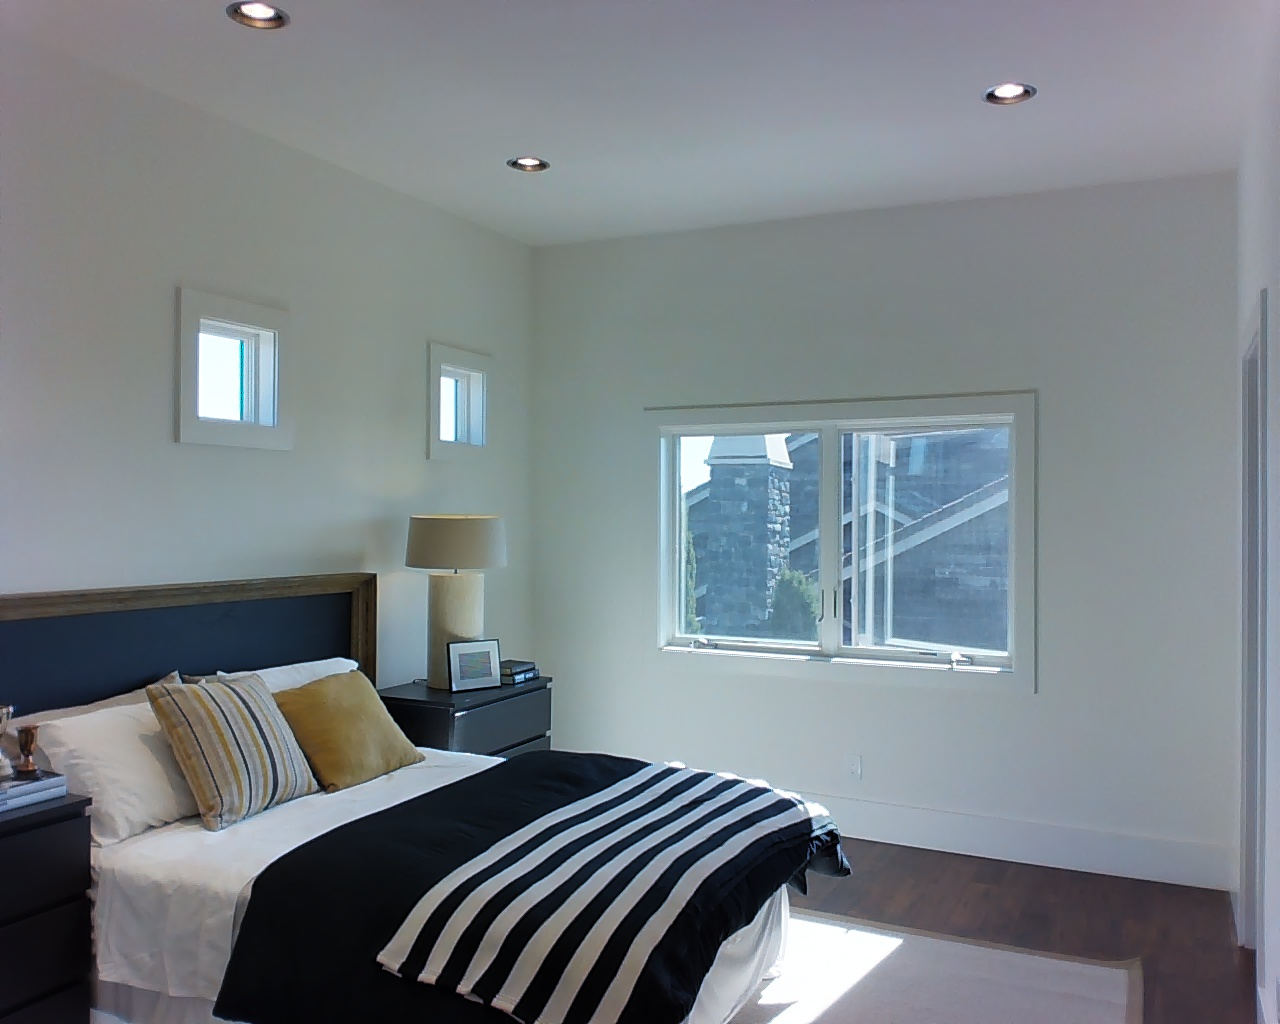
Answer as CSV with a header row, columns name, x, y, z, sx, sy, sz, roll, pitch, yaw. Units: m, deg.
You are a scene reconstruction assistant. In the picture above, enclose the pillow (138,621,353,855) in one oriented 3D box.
name,x,y,z,sx,sy,sz,roll,pitch,yaw
pillow,-1.250,0.720,3.480,0.200,0.500,0.530,-1,35,25
